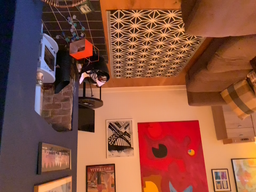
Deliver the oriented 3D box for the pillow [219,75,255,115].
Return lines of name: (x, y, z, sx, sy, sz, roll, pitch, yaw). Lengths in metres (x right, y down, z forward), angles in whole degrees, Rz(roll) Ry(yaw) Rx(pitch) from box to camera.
pillow: (1.680, 0.010, 3.140, 0.180, 0.490, 0.500, -27, 175, -9)
